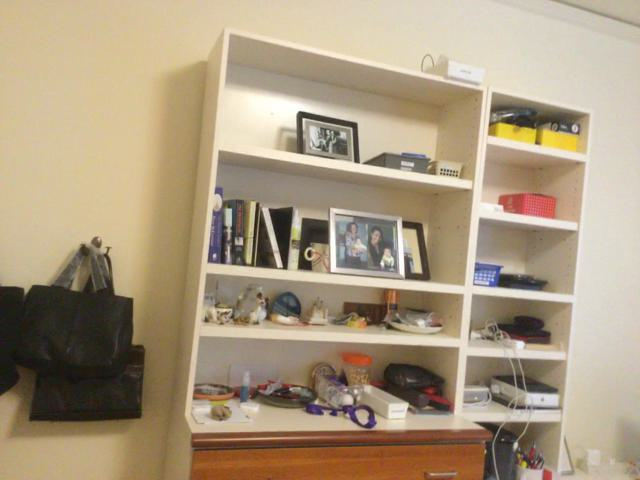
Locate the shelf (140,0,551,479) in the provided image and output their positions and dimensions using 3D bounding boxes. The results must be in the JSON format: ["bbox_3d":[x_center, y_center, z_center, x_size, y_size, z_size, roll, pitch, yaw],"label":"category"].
[{"bbox_3d":[0.070,0.080,1.820,1.000,1.340,0.490,10,-4,-19],"label":"shelf"}]

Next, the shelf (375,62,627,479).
[{"bbox_3d":[0.650,0.180,2.080,0.620,1.430,0.330,10,-4,-19],"label":"shelf"}]

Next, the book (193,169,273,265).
[{"bbox_3d":[-0.270,-0.060,1.730,0.140,0.240,0.350,10,-4,-19],"label":"book"}]
